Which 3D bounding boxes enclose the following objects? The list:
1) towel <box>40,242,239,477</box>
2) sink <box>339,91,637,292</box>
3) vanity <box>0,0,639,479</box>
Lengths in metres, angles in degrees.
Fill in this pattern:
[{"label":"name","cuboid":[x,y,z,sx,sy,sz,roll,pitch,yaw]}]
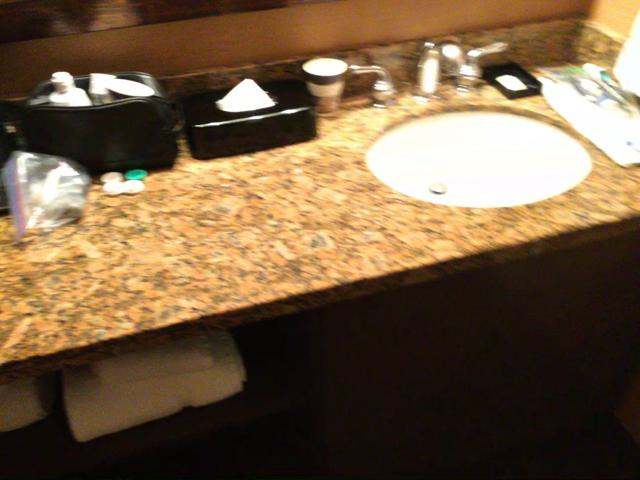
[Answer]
[{"label":"towel","cuboid":[-0.330,0.190,1.040,0.270,0.160,0.340,-15,35,-15]},{"label":"sink","cuboid":[0.300,-0.120,1.130,0.420,0.170,0.340,-15,35,-15]},{"label":"vanity","cuboid":[-0.340,0.270,1.130,2.220,1.030,0.730,-15,35,-15]}]
